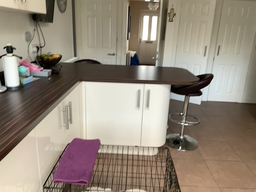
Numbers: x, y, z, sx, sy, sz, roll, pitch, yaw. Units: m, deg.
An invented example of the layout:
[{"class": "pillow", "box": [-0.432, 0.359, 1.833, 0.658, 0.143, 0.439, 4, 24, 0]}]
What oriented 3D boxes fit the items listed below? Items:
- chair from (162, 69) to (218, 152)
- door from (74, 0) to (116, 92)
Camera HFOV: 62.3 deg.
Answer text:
[{"class": "chair", "box": [0.730, 0.160, 2.660, 0.460, 0.890, 0.500, 3, 18, 2]}, {"class": "door", "box": [-0.720, -1.090, 4.610, 0.830, 1.970, 0.170, 5, 18, 5]}]
